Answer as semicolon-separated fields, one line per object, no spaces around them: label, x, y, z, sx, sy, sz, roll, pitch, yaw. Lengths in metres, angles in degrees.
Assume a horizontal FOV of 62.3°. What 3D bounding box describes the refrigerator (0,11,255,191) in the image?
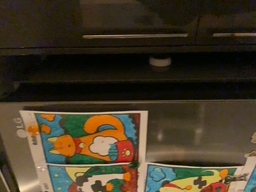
refrigerator;0.560;0.190;1.050;0.760;1.790;1.030;-95;4;-59
